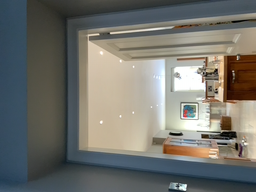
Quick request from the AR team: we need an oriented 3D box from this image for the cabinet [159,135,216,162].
[{"bbox_3d":[1.930,1.660,6.930,1.230,1.640,0.360,-13,-76,-72],"label":"cabinet"}]
